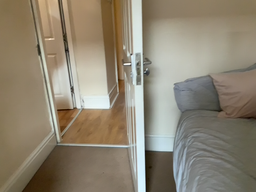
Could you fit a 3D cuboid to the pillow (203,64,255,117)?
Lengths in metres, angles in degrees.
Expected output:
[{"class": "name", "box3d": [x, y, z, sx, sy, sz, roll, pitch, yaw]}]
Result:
[{"class": "pillow", "box3d": [0.810, -0.060, 1.580, 0.350, 0.270, 0.420, 0, 21, 4]}]

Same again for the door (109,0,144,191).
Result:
[{"class": "door", "box3d": [0.000, -0.230, 1.490, 0.150, 1.970, 0.920, -2, 21, 0]}]

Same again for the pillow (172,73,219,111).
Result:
[{"class": "pillow", "box3d": [0.510, -0.040, 1.670, 0.280, 0.220, 0.270, -1, 21, 3]}]
